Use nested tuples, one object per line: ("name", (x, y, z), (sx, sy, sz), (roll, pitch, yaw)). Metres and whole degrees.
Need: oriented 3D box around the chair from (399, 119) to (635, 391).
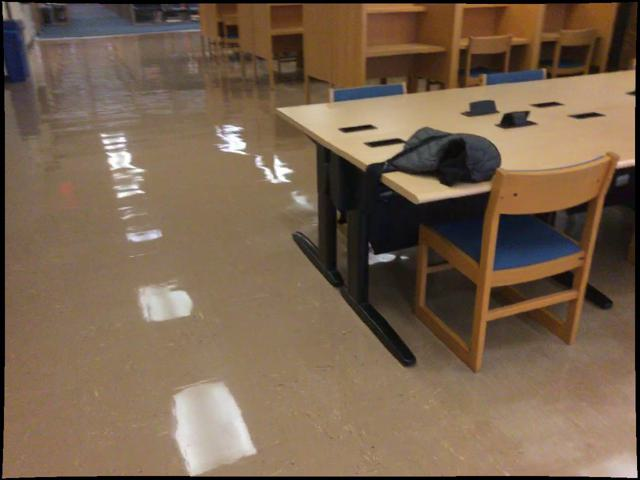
("chair", (0.728, 0.020, 2.310), (0.589, 0.832, 0.570), (-12, 26, -20))
